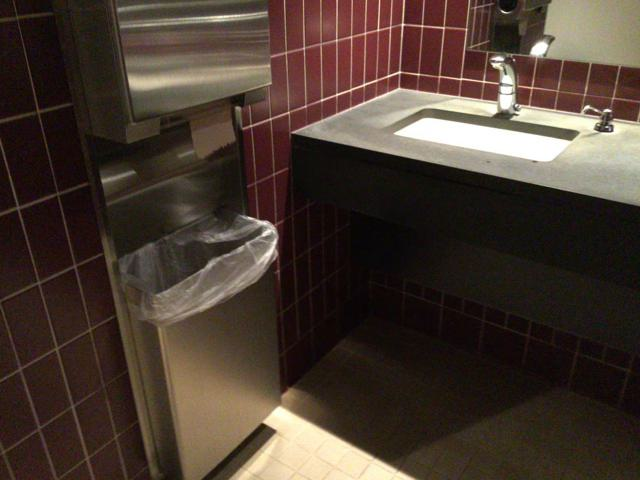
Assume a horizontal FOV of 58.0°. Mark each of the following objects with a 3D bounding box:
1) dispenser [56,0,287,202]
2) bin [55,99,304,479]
[{"bbox_3d":[-0.270,-0.420,1.140,0.160,0.560,0.420,17,33,31],"label":"dispenser"},{"bbox_3d":[-0.290,0.140,1.450,0.250,0.860,0.450,17,33,31],"label":"bin"}]
